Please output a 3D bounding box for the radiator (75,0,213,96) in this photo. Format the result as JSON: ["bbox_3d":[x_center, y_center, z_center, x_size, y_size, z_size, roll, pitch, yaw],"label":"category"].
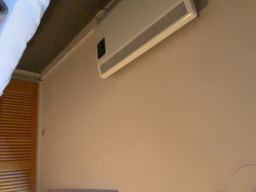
[{"bbox_3d":[-0.030,-0.410,1.270,0.110,0.550,0.970,9,156,-40],"label":"radiator"}]
